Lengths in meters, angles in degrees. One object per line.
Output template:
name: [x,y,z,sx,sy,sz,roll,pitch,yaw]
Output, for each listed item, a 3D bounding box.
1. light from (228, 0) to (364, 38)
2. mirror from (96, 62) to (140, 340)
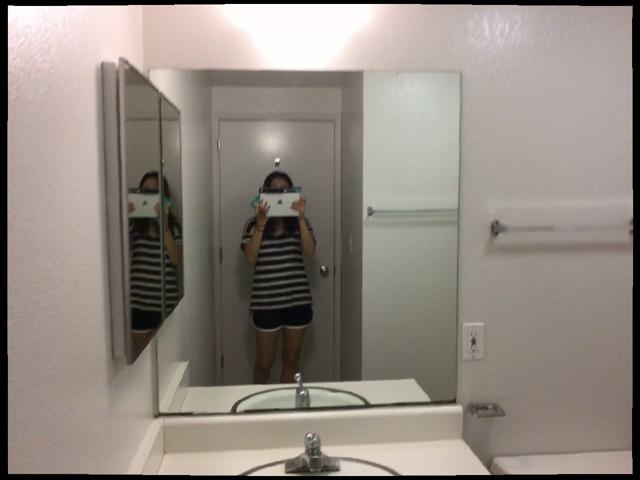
light: [-0.070,-0.631,1.630,0.369,0.080,0.110,0,7,-6]
mirror: [-0.449,-0.080,1.290,0.060,0.601,0.080,0,7,-6]
